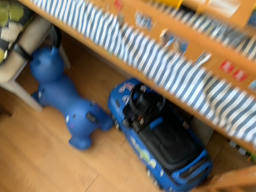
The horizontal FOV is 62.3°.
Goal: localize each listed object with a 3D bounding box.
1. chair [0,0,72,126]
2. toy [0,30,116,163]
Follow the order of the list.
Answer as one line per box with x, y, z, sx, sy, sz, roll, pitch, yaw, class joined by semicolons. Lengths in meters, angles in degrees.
-0.710;-0.290;1.020;0.530;0.930;0.440;21;66;8;chair
-0.330;0.030;1.130;0.300;0.460;0.480;-32;69;-15;toy
